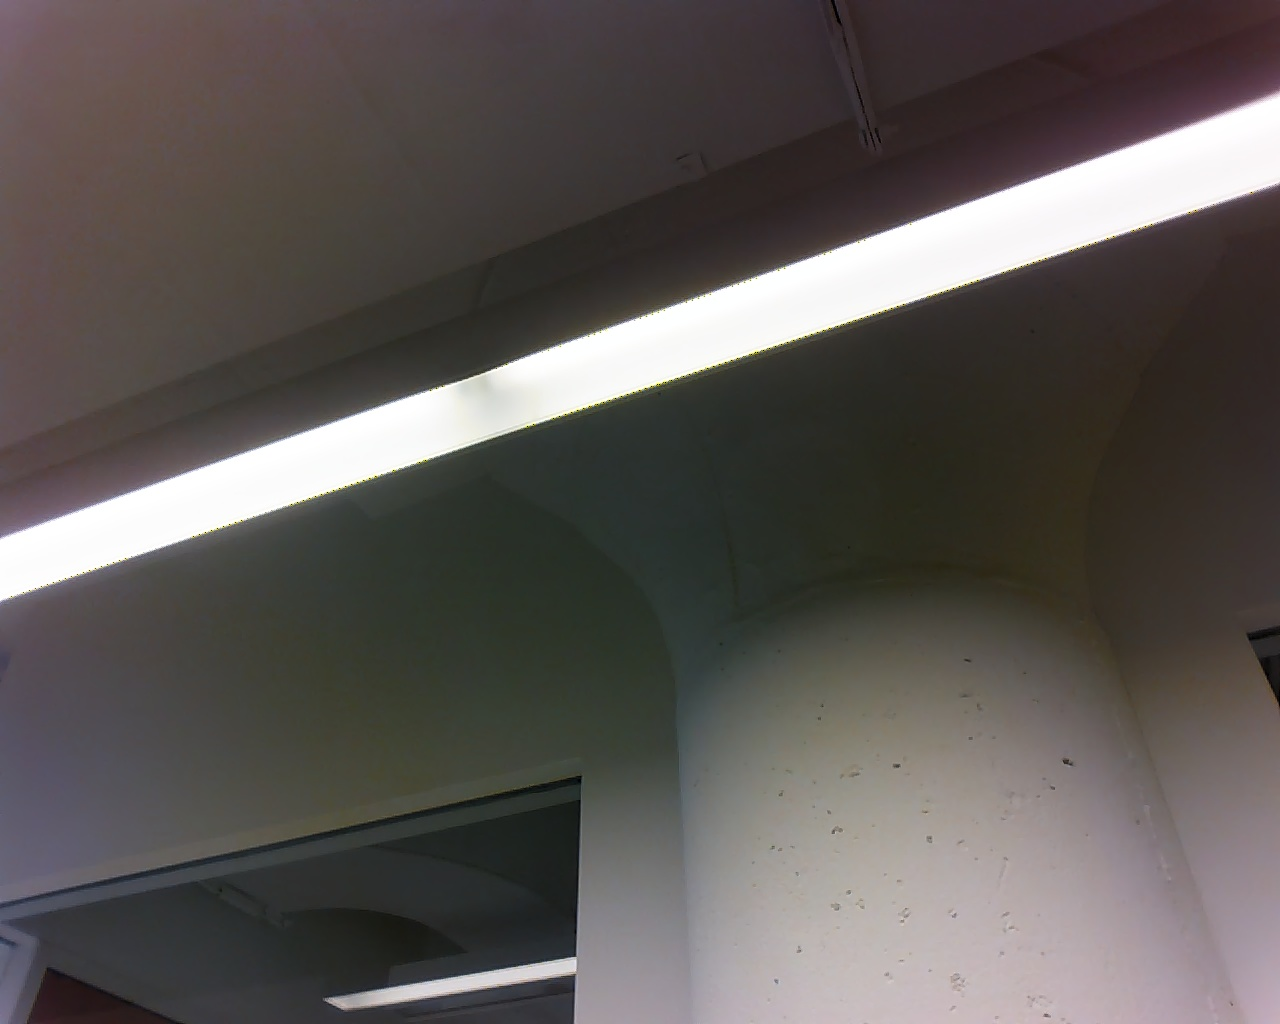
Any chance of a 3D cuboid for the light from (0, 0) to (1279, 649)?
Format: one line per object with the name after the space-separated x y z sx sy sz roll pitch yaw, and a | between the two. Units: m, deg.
-0.170 -0.160 1.190 2.509 0.190 0.200 -16 -45 17 | light
